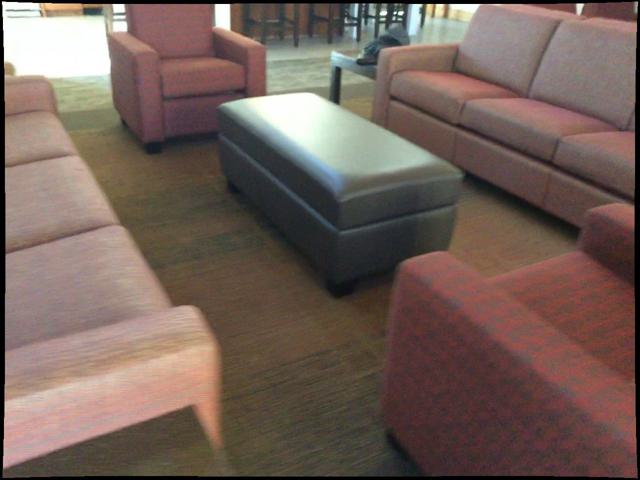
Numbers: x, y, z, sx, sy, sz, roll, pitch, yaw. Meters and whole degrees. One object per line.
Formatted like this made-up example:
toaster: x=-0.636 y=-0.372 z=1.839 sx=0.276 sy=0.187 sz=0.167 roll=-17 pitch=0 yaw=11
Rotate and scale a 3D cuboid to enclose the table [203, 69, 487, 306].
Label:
table: x=0.010 y=-0.360 z=2.730 sx=0.670 sy=0.500 sz=1.400 roll=-13 pitch=34 yaw=-25
